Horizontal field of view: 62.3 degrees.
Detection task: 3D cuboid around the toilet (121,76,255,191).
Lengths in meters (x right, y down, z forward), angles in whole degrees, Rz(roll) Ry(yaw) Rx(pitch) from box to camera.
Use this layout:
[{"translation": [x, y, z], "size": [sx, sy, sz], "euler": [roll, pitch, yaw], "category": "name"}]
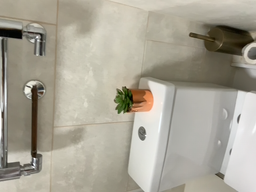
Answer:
[{"translation": [0.480, 0.190, 0.730], "size": [0.600, 0.780, 0.390], "euler": [26, 112, 57], "category": "toilet"}]
